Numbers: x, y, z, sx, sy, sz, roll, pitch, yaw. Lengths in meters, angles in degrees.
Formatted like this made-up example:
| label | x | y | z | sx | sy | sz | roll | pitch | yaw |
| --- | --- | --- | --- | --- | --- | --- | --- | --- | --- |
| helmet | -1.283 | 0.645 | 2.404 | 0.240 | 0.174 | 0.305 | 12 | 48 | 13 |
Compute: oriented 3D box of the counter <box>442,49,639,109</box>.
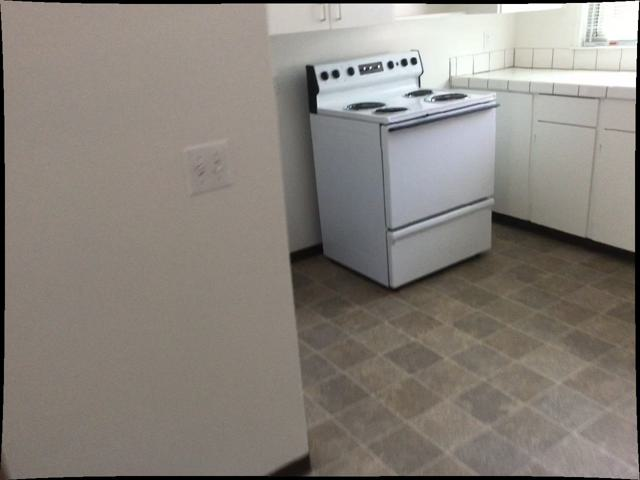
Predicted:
| label | x | y | z | sx | sy | sz | roll | pitch | yaw |
| --- | --- | --- | --- | --- | --- | --- | --- | --- | --- |
| counter | 1.657 | -0.871 | 3.080 | 0.639 | 0.170 | 2.119 | -21 | 27 | -29 |

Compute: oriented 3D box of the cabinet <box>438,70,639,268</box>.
| label | x | y | z | sx | sy | sz | roll | pitch | yaw |
| --- | --- | --- | --- | --- | --- | --- | --- | --- | --- |
| cabinet | 1.458 | -0.391 | 3.110 | 0.130 | 0.921 | 2.089 | -21 | 27 | -29 |

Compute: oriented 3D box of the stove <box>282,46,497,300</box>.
| label | x | y | z | sx | sy | sz | roll | pitch | yaw |
| --- | --- | --- | --- | --- | --- | --- | --- | --- | --- |
| stove | 0.399 | -0.431 | 3.190 | 0.799 | 1.112 | 0.760 | -21 | 27 | -29 |
